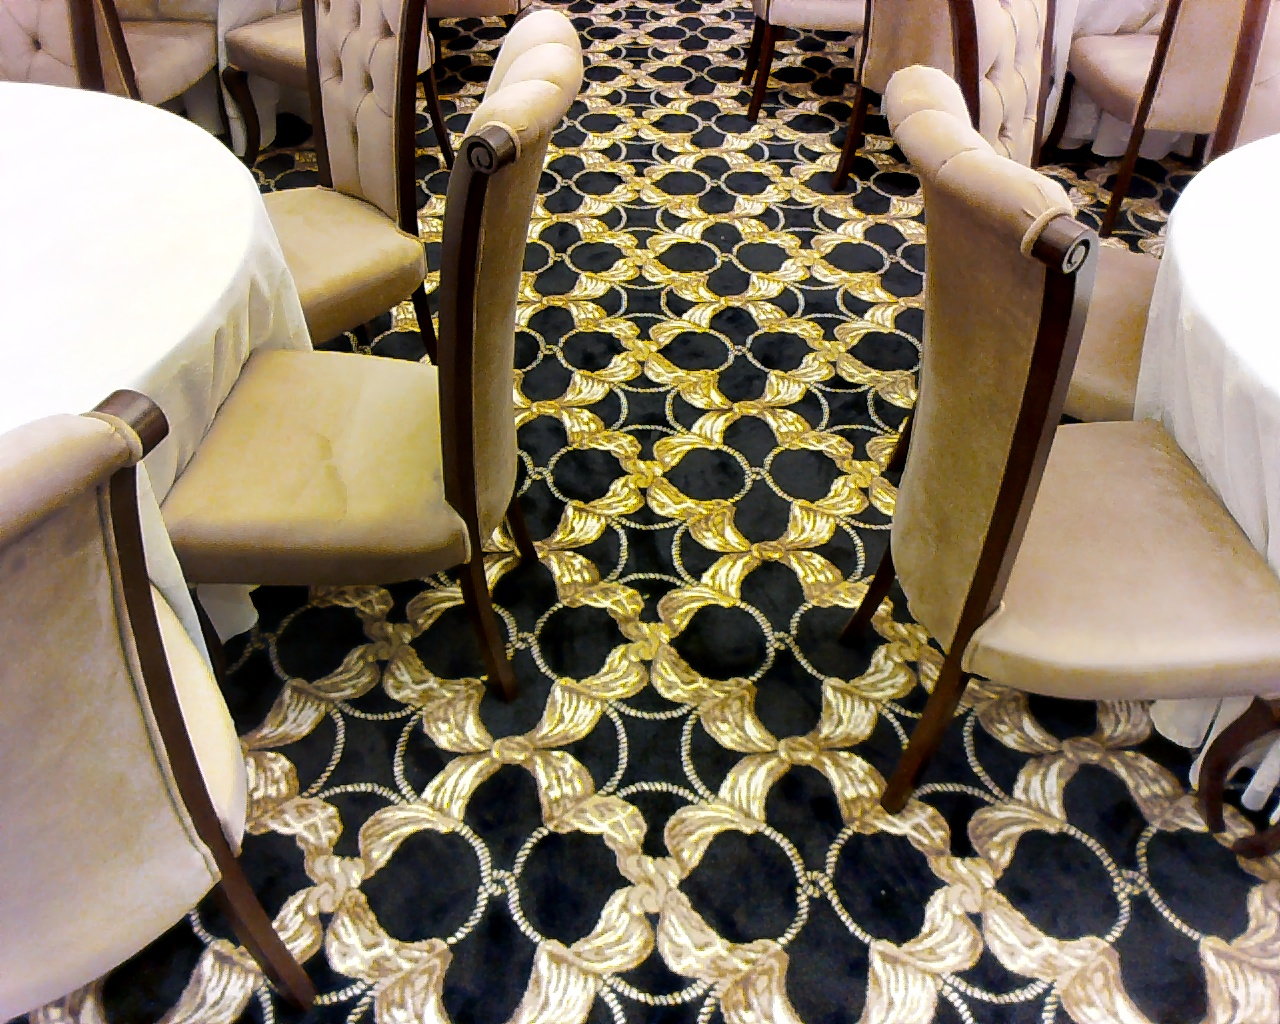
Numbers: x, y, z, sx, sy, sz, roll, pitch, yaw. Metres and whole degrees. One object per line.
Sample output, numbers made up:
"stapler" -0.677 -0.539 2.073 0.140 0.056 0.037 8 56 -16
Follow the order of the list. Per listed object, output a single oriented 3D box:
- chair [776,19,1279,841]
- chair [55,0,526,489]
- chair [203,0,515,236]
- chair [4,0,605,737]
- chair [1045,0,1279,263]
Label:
"chair" 0.660 -0.100 1.570 0.700 0.970 0.580 -8 42 -9
"chair" -0.710 -0.720 2.330 0.640 1.040 0.560 -31 50 -30
"chair" -0.900 -1.590 3.350 0.700 1.110 0.630 33 51 32
"chair" -0.390 -0.200 1.760 0.630 1.060 0.590 0 41 0
"chair" 1.700 -1.370 3.110 0.600 1.080 0.650 0 41 0
